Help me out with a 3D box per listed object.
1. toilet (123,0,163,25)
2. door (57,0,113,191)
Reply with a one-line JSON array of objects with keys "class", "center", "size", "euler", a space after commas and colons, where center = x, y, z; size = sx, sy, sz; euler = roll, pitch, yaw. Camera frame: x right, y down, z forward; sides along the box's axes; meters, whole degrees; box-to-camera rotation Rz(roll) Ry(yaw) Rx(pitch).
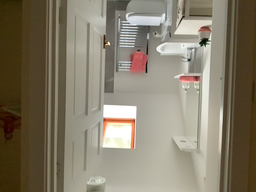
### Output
[{"class": "toilet", "center": [0.190, -1.230, 2.790], "size": [0.490, 0.450, 0.370], "euler": [2, -178, 1]}, {"class": "door", "center": [-0.240, -0.480, 1.440], "size": [0.090, 2.060, 0.710], "euler": [3, -178, 9]}]
